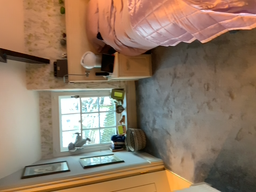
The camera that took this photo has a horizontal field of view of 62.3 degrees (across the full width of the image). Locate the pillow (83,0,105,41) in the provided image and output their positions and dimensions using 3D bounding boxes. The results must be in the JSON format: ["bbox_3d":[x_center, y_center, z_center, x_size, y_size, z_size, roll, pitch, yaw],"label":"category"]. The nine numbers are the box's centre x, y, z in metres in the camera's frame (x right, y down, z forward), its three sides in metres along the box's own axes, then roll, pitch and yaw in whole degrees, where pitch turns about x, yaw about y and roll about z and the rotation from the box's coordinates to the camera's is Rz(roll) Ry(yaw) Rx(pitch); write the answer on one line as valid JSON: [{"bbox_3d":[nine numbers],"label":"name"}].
[{"bbox_3d":[-0.470,-1.080,2.860,0.420,0.190,0.570,178,90,-68],"label":"pillow"}]
